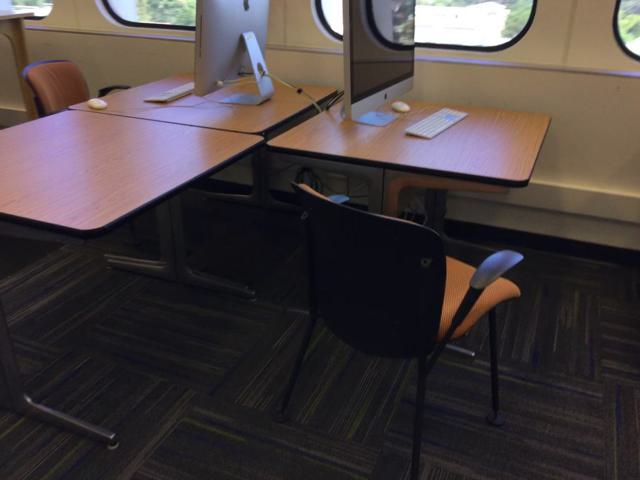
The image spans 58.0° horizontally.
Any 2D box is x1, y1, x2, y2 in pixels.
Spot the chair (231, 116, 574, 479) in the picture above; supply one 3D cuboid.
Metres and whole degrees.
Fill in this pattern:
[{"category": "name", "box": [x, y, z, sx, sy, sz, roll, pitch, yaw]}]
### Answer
[{"category": "chair", "box": [0.230, 0.170, 1.640, 0.600, 0.850, 0.630, 20, 34, 40]}]
